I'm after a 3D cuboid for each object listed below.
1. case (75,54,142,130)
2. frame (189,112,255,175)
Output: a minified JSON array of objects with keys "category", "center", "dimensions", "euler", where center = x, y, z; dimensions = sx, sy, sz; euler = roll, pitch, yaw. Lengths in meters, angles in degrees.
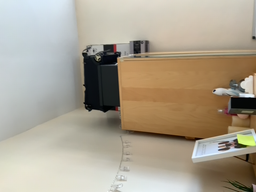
[{"category":"case","center":[-0.160,-0.090,2.190],"dimensions":[0.650,0.400,0.660],"euler":[-26,-64,-65]},{"category":"frame","center":[0.540,0.240,1.140],"dimensions":[0.150,0.370,0.350],"euler":[72,-160,-2]}]
